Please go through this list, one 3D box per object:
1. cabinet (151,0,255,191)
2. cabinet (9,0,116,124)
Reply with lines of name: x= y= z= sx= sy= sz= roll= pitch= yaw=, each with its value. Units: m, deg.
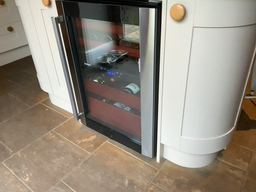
cabinet: x=0.370 y=-0.030 z=1.030 sx=0.330 sy=0.870 sz=0.380 roll=21 pitch=39 yaw=32
cabinet: x=-0.430 y=-0.330 z=1.540 sx=0.490 sy=0.870 sz=0.400 roll=21 pitch=39 yaw=32
